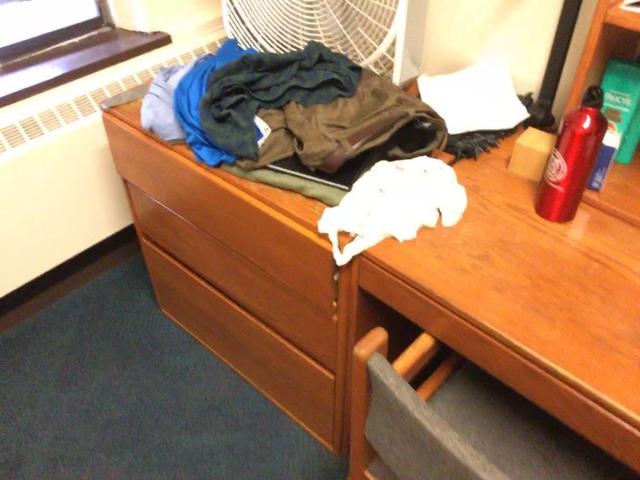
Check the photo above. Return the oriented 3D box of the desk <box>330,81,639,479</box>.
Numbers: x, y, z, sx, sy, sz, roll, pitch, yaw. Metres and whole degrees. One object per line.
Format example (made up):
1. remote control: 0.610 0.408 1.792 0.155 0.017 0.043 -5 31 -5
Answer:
1. desk: 0.690 0.370 1.090 1.240 0.780 0.640 33 53 32
